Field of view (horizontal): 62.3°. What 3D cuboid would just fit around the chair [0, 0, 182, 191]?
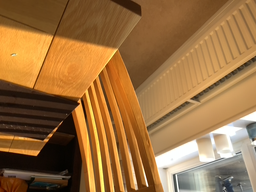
[{"bbox_3d":[-0.240,-0.120,0.760,0.530,1.050,0.470,17,143,-28],"label":"chair"}]
